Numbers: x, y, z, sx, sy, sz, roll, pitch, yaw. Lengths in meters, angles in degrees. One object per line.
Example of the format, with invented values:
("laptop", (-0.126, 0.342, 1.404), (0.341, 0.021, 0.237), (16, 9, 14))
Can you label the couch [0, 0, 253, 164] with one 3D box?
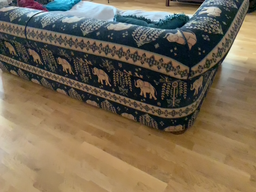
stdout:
("couch", (-0.330, -0.590, 2.020), (2.440, 0.740, 1.300), (19, 46, 27))
